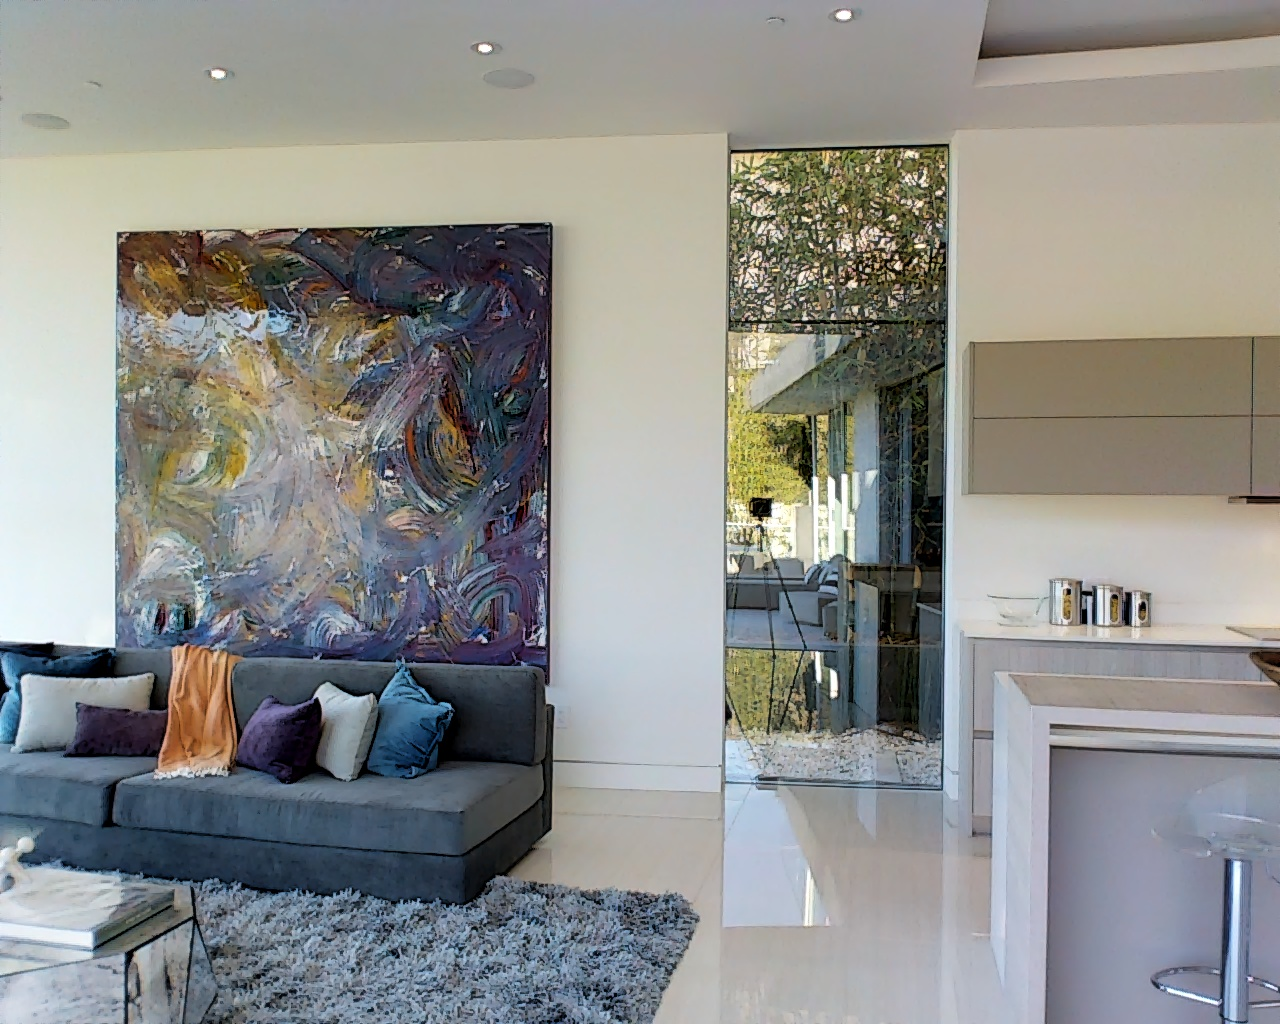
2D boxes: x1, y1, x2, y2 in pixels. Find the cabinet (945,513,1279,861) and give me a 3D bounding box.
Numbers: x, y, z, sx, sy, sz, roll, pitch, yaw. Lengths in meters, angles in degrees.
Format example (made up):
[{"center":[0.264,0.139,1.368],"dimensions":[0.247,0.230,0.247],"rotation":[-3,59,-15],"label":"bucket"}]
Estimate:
[{"center":[3.260,0.760,5.010],"dimensions":[3.490,1.470,1.020],"rotation":[1,0,14],"label":"cabinet"}]
